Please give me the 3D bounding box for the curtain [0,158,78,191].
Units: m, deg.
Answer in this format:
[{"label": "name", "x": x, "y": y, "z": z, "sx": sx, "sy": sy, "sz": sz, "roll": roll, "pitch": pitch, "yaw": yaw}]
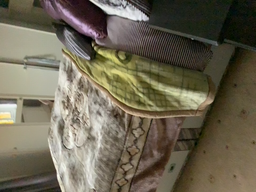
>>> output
[{"label": "curtain", "x": -1.680, "y": 1.170, "z": 2.860, "sx": 0.360, "sy": 1.910, "sz": 0.290, "roll": 39, "pitch": 119, "yaw": 51}]
